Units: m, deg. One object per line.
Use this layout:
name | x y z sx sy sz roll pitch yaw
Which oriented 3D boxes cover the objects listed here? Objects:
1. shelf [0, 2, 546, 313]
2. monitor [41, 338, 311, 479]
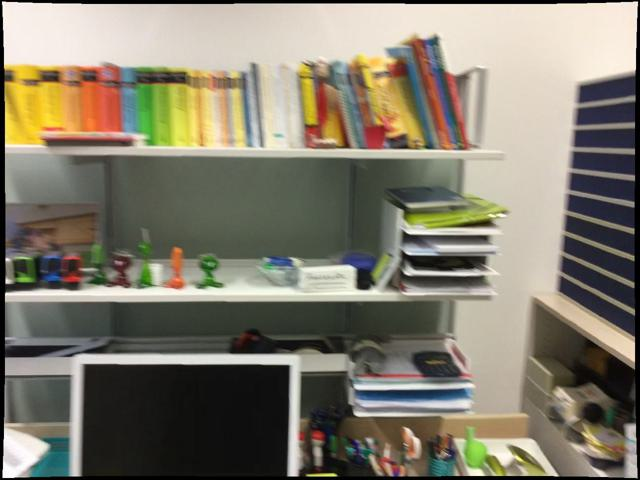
shelf | -0.230 -0.210 1.510 1.419 0.681 0.430 1 11 -1
monitor | -0.340 0.490 1.490 0.629 0.420 0.200 1 11 -1
